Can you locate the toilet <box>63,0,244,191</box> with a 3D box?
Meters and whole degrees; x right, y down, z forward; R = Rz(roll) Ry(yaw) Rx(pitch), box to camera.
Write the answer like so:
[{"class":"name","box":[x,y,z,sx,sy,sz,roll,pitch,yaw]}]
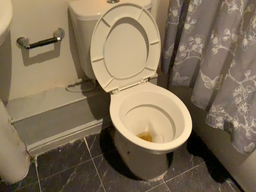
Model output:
[{"class":"toilet","box":[0.030,0.000,1.070,0.390,0.760,0.680,-19,46,-19]}]
